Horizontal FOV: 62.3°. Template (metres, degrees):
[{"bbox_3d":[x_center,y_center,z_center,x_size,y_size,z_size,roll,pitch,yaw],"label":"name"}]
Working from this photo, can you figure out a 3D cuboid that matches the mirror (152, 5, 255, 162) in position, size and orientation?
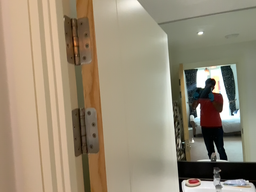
[{"bbox_3d":[0.980,-0.090,1.830,1.460,1.310,0.060,-4,1,18],"label":"mirror"}]
